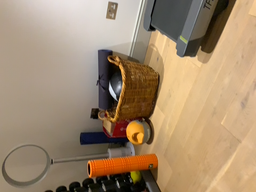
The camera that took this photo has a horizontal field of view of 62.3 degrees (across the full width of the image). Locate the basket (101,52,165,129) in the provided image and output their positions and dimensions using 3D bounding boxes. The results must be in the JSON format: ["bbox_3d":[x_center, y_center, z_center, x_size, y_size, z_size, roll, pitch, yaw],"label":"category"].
[{"bbox_3d":[0.010,-0.060,2.190,0.490,0.380,0.600,-120,37,-49],"label":"basket"}]
